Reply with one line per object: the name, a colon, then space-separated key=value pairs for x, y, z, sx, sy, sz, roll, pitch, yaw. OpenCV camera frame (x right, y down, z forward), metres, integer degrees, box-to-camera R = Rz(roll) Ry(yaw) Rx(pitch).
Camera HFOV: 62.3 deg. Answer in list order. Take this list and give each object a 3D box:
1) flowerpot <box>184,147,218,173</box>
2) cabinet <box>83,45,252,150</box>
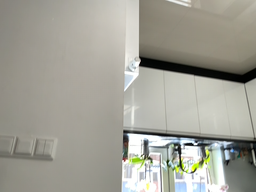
flowerpot: x=1.010 y=0.900 z=2.960 sx=0.330 sy=0.320 sz=0.260 roll=8 pitch=159 yaw=-17
cabinet: x=0.460 y=0.110 z=2.580 sx=1.830 sy=0.910 sz=0.610 roll=8 pitch=159 yaw=-17
